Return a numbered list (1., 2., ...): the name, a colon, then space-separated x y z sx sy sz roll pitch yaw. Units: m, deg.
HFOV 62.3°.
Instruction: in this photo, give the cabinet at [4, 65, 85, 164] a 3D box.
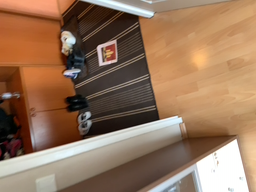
1. cabinet: -1.010 0.210 2.540 0.600 0.580 1.010 -16 83 45
